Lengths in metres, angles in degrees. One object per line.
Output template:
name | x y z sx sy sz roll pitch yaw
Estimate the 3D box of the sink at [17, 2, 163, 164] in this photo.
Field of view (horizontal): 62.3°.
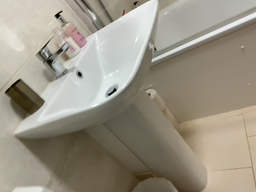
sink | -0.090 -0.070 0.800 0.320 0.210 0.560 -19 36 32
